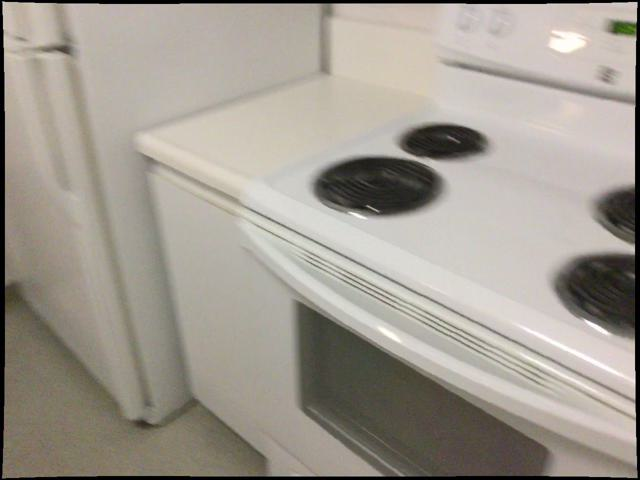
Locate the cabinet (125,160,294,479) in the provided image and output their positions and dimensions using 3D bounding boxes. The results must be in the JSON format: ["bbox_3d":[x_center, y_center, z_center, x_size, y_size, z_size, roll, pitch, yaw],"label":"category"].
[{"bbox_3d":[-0.259,0.221,1.440,0.400,0.781,0.070,25,43,37],"label":"cabinet"}]
